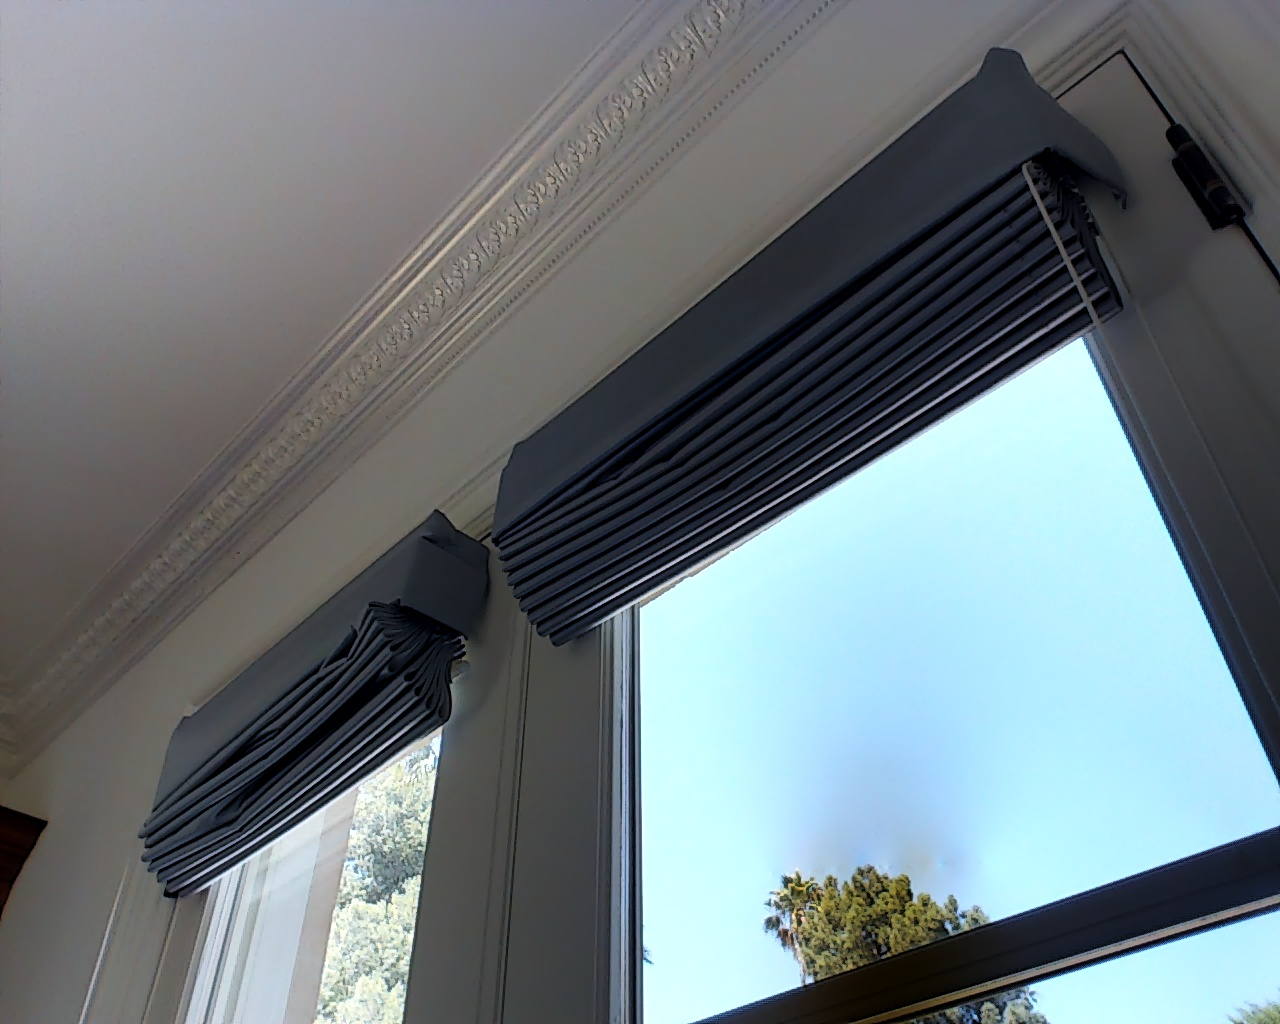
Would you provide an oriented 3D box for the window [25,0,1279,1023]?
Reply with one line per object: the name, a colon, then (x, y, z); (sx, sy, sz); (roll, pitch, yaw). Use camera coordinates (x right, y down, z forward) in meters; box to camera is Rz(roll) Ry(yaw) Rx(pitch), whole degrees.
window: (-0.100, 0.790, 0.460); (0.240, 2.490, 1.550); (33, -52, -31)
